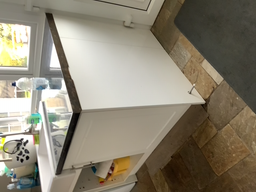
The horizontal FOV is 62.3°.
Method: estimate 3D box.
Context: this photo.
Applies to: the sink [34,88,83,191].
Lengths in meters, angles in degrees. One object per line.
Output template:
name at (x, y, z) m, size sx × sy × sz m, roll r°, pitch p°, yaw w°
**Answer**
sink at (-0.640, 0.430, 1.820) m, size 0.610 × 0.200 × 0.790 m, roll -62°, pitch 41°, yaw 40°
